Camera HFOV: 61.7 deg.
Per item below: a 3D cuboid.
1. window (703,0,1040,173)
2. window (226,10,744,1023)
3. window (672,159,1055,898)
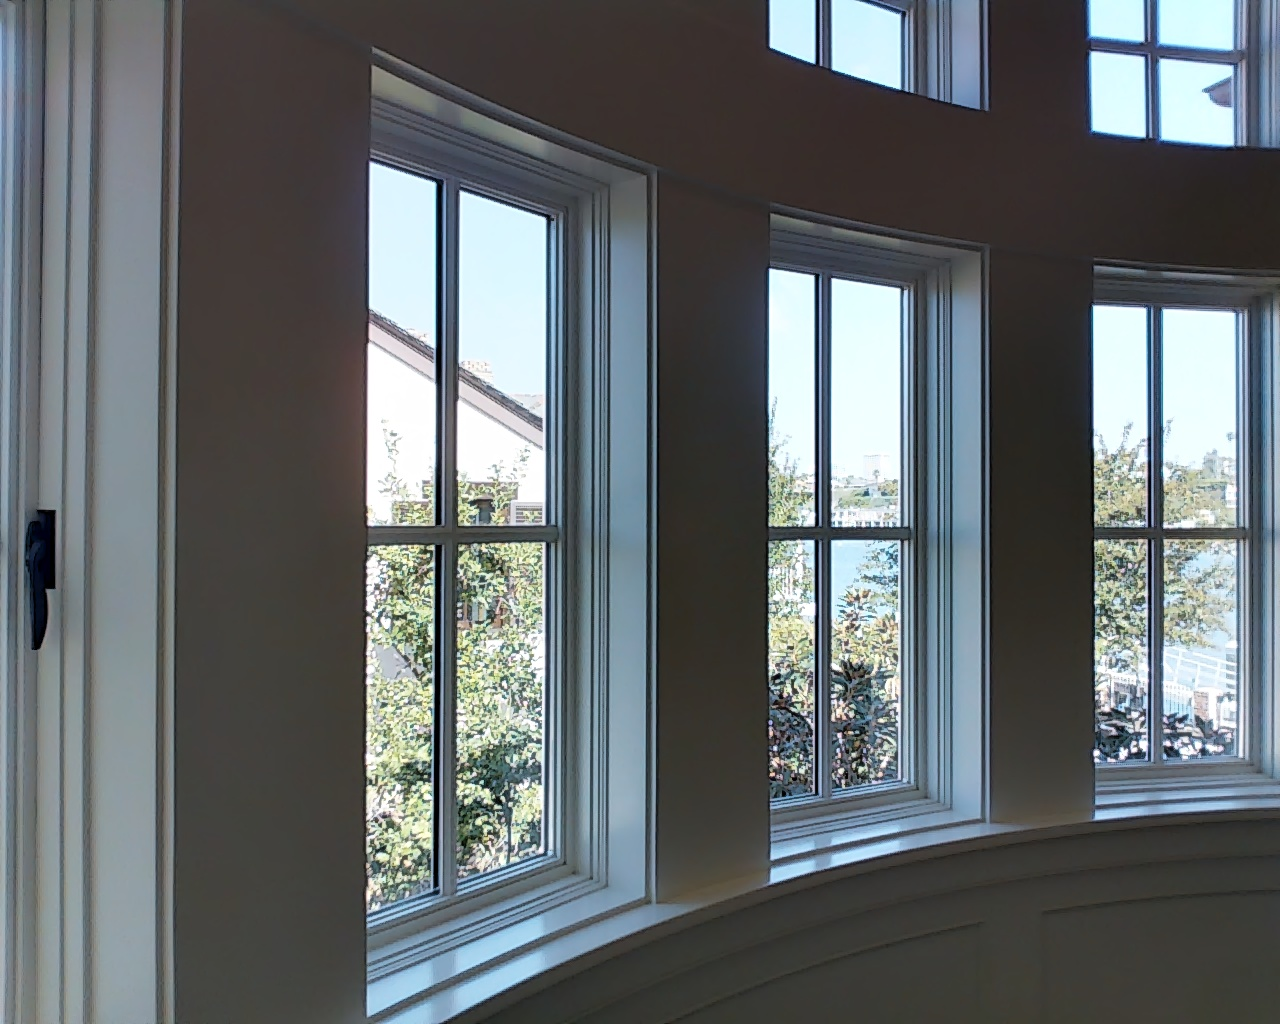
[{"bbox_3d":[0.470,-1.100,2.160,0.620,0.650,0.300,0,-1,-30],"label":"window"},{"bbox_3d":[-0.200,0.060,1.590,0.410,1.251,0.650,0,-1,40],"label":"window"},{"bbox_3d":[0.450,0.030,2.180,0.630,1.261,0.440,0,-1,-32],"label":"window"}]
